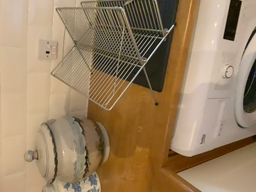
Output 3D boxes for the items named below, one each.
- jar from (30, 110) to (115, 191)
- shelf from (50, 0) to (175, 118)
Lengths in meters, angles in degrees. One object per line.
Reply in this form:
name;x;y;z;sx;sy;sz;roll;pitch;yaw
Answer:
jar;-0.290;0.370;1.030;0.280;0.280;0.520;26;113;48
shelf;-0.080;-0.160;0.740;0.320;0.260;0.350;27;114;48
